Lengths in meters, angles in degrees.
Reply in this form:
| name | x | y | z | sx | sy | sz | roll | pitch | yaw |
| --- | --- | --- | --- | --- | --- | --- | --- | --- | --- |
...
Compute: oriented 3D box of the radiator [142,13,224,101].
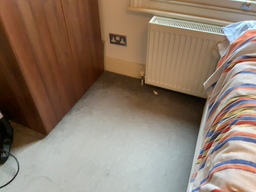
| name | x | y | z | sx | sy | sz | roll | pitch | yaw |
| --- | --- | --- | --- | --- | --- | --- | --- | --- | --- |
| radiator | 0.350 | -0.260 | 1.500 | 0.460 | 0.530 | 0.140 | 16 | 45 | 16 |
